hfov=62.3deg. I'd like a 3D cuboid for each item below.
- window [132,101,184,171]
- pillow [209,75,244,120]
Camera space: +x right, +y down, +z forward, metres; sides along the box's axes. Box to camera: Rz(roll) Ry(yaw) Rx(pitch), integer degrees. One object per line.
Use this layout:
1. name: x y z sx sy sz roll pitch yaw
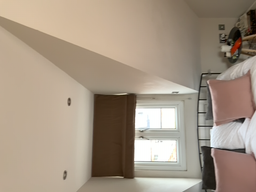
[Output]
1. window: 0.430 0.570 3.100 0.120 0.730 0.980 67 -157 -82
2. pillow: 1.040 0.030 2.230 0.160 0.390 0.430 -8 81 50
